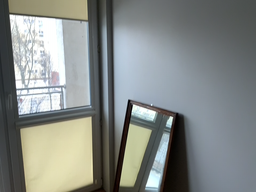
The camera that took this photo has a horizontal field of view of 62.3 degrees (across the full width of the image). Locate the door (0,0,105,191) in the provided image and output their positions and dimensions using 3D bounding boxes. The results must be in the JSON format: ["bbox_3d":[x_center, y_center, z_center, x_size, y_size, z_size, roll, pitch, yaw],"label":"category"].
[{"bbox_3d":[-1.030,0.150,1.780,1.760,2.330,0.190,-8,13,-35],"label":"door"}]
